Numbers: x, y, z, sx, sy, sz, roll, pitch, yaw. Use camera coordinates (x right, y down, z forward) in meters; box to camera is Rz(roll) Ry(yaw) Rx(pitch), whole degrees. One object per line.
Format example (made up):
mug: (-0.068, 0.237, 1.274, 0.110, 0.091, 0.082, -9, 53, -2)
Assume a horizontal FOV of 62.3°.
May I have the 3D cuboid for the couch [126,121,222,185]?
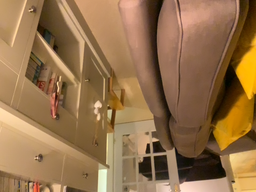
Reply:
couch: (0.860, 1.130, 3.830, 1.040, 0.700, 1.530, -22, 145, 32)
